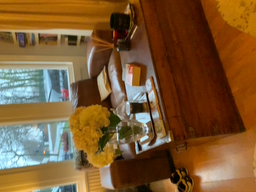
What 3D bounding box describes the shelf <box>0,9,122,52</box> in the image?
[{"bbox_3d":[-1.360,-0.930,3.090,0.550,2.490,0.230,129,134,-60],"label":"shelf"}]
